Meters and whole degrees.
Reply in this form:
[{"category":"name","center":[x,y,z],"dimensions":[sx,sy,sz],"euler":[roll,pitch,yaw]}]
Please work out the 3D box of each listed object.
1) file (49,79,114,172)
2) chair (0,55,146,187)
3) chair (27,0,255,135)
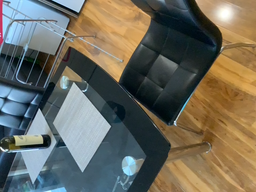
[{"category":"file","center":[-0.230,0.120,0.960],"dimensions":[0.350,0.030,0.250],"euler":[43,112,35]},{"category":"chair","center":[-0.440,0.160,1.480],"dimensions":[0.440,0.950,0.580],"euler":[-51,56,24]},{"category":"chair","center":[0.170,-0.220,1.010],"dimensions":[0.430,0.960,0.620],"euler":[38,109,36]}]
